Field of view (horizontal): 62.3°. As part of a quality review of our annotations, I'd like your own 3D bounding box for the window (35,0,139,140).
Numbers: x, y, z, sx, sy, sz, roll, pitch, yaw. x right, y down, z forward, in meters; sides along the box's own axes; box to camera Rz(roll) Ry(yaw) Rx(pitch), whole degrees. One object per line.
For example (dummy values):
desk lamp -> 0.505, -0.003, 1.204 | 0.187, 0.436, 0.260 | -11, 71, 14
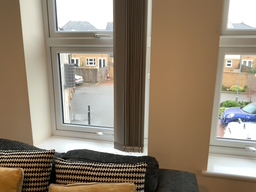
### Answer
window -> -0.350, -0.460, 1.800 | 0.870, 1.650, 0.090 | 4, 14, 14
